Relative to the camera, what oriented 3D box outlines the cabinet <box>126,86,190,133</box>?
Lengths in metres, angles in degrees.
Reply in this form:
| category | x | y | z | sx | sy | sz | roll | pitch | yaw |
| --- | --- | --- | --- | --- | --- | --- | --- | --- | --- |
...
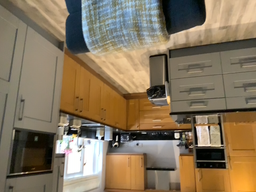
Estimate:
| category | x | y | z | sx | sy | sz | roll | pitch | yaw |
| --- | --- | --- | --- | --- | --- | --- | --- | --- | --- |
| cabinet | 0.680 | 0.340 | 4.850 | 1.340 | 0.910 | 0.600 | -4 | 165 | 17 |

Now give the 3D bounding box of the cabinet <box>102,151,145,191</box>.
| category | x | y | z | sx | sy | sz | roll | pitch | yaw |
| --- | --- | --- | --- | --- | --- | --- | --- | --- | --- |
| cabinet | -0.100 | 1.720 | 4.890 | 0.900 | 0.860 | 0.350 | -4 | 165 | 17 |
